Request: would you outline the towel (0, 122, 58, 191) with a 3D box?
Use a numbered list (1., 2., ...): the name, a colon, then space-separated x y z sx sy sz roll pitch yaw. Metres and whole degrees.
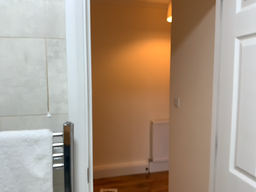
1. towel: -0.380 0.390 0.790 0.220 0.560 0.120 -1 2 -14
